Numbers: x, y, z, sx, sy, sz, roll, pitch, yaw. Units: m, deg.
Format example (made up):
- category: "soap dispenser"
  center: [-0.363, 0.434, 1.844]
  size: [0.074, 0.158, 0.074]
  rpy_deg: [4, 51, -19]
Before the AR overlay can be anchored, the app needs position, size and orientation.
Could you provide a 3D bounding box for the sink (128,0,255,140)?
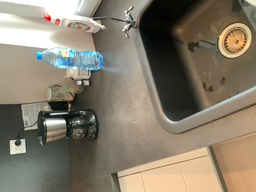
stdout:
- category: "sink"
  center: [0.250, -0.170, 0.690]
  size: [0.400, 0.210, 0.510]
  rpy_deg: [-38, 59, 49]
